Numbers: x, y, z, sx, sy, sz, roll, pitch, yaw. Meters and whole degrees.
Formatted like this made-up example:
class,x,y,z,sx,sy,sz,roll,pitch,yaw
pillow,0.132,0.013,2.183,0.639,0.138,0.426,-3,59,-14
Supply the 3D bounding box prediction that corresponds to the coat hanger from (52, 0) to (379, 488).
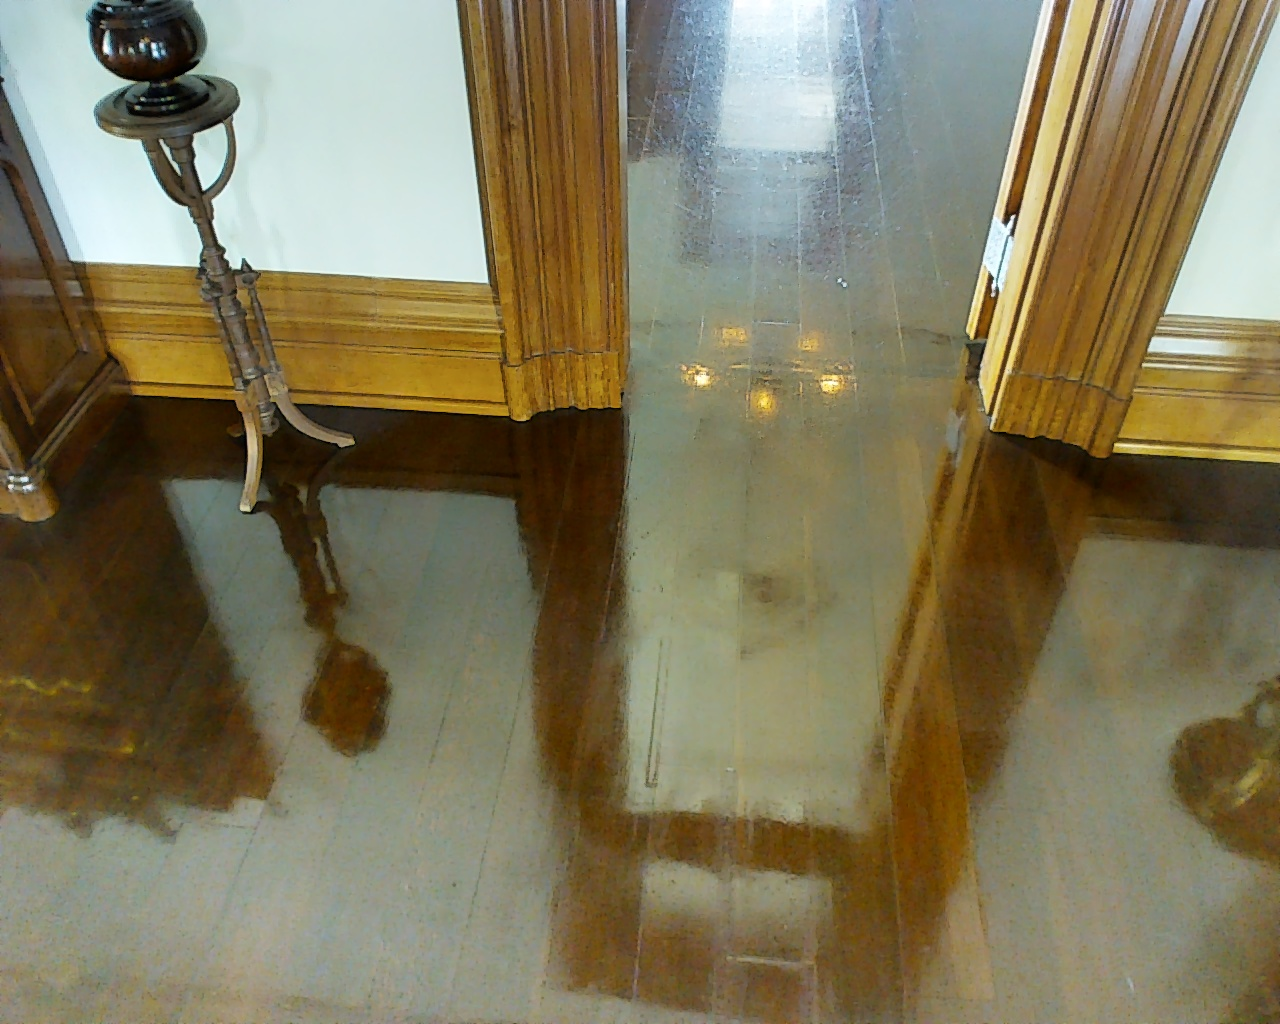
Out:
class,x,y,z,sx,sy,sz,roll,pitch,yaw
coat hanger,-0.780,-0.570,2.150,0.330,1.050,0.340,-6,43,-6
